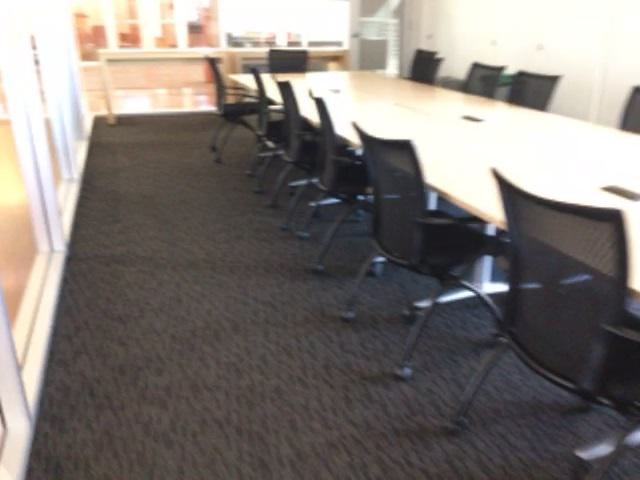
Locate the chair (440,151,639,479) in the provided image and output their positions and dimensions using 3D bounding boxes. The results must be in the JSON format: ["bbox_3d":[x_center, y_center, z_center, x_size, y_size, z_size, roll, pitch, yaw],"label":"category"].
[{"bbox_3d":[0.820,0.230,1.630,0.640,0.820,0.580,-5,24,-19],"label":"chair"}]
